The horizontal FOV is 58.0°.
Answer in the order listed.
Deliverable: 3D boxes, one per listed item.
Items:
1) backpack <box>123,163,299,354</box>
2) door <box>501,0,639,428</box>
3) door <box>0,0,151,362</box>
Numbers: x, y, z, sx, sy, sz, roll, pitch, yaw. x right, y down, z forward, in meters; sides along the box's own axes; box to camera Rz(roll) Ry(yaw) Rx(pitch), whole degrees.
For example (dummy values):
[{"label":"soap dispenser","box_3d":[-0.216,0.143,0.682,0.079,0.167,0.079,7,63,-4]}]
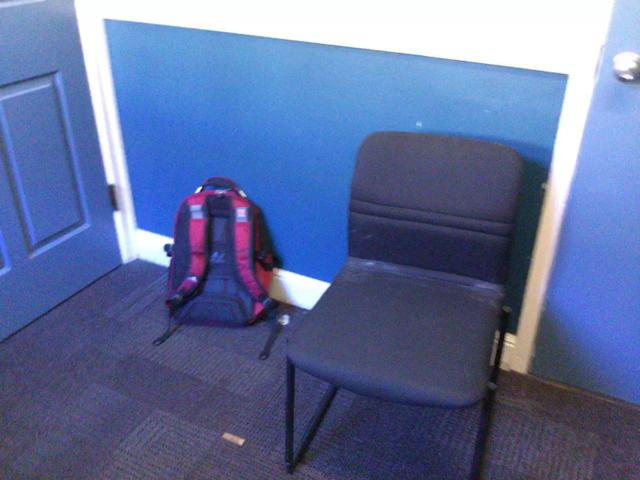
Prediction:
[{"label":"backpack","box_3d":[-0.380,0.050,2.130,0.490,0.520,0.330,13,30,25]},{"label":"door","box_3d":[0.980,-0.140,1.370,0.870,1.520,0.100,13,30,25]},{"label":"door","box_3d":[-1.040,-0.490,1.700,0.110,1.810,1.050,13,30,25]}]
